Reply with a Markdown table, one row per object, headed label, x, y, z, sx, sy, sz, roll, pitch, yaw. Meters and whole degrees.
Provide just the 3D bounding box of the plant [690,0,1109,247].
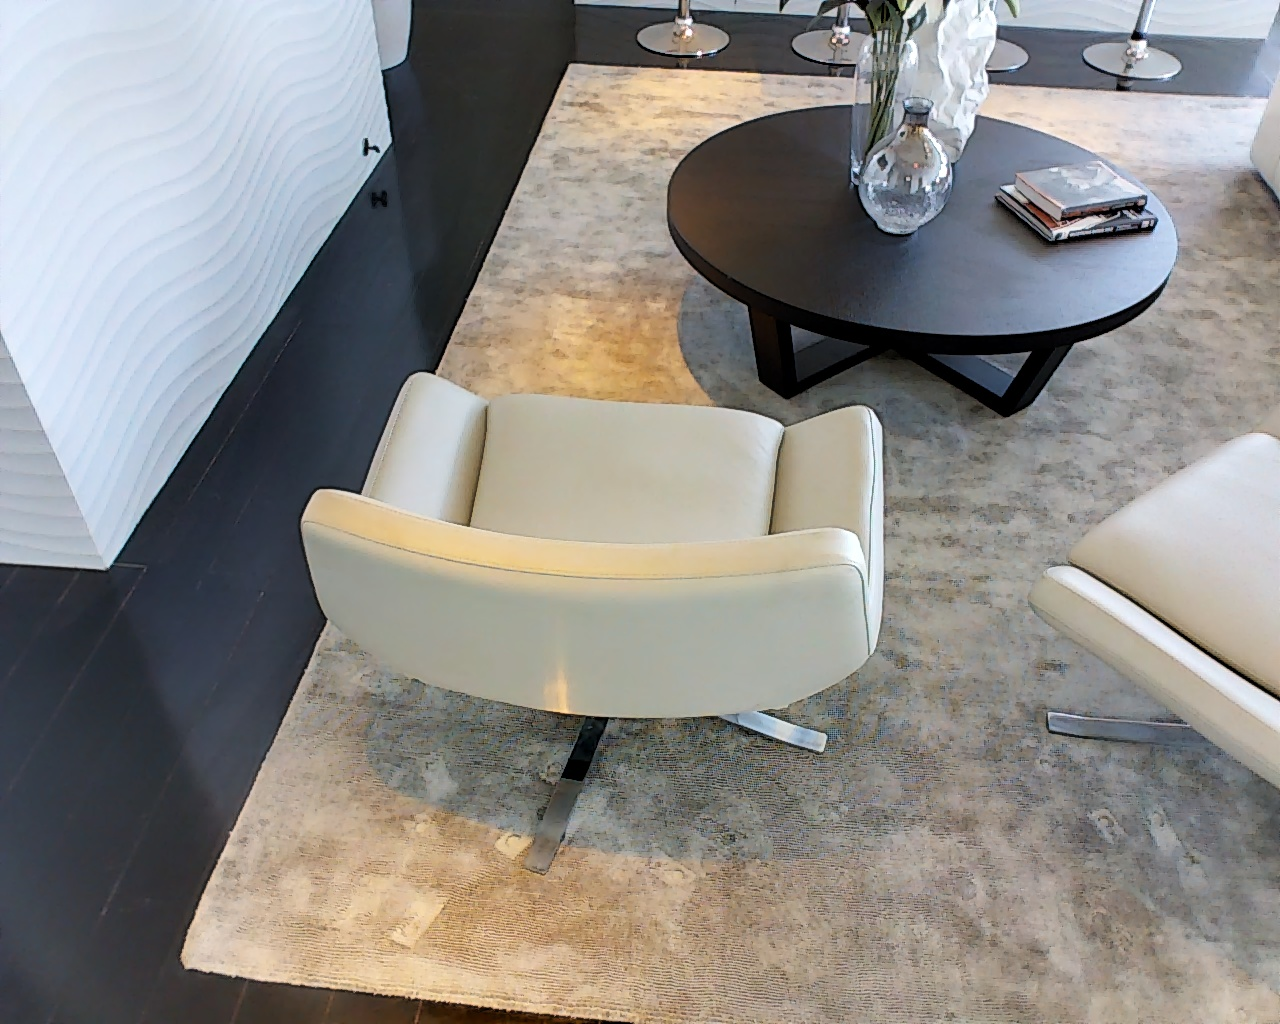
| label | x | y | z | sx | sy | sz | roll | pitch | yaw |
| --- | --- | --- | --- | --- | --- | --- | --- | --- | --- |
| plant | 0.570 | -1.110 | 2.470 | 0.760 | 0.750 | 0.490 | -10 | 43 | -13 |
